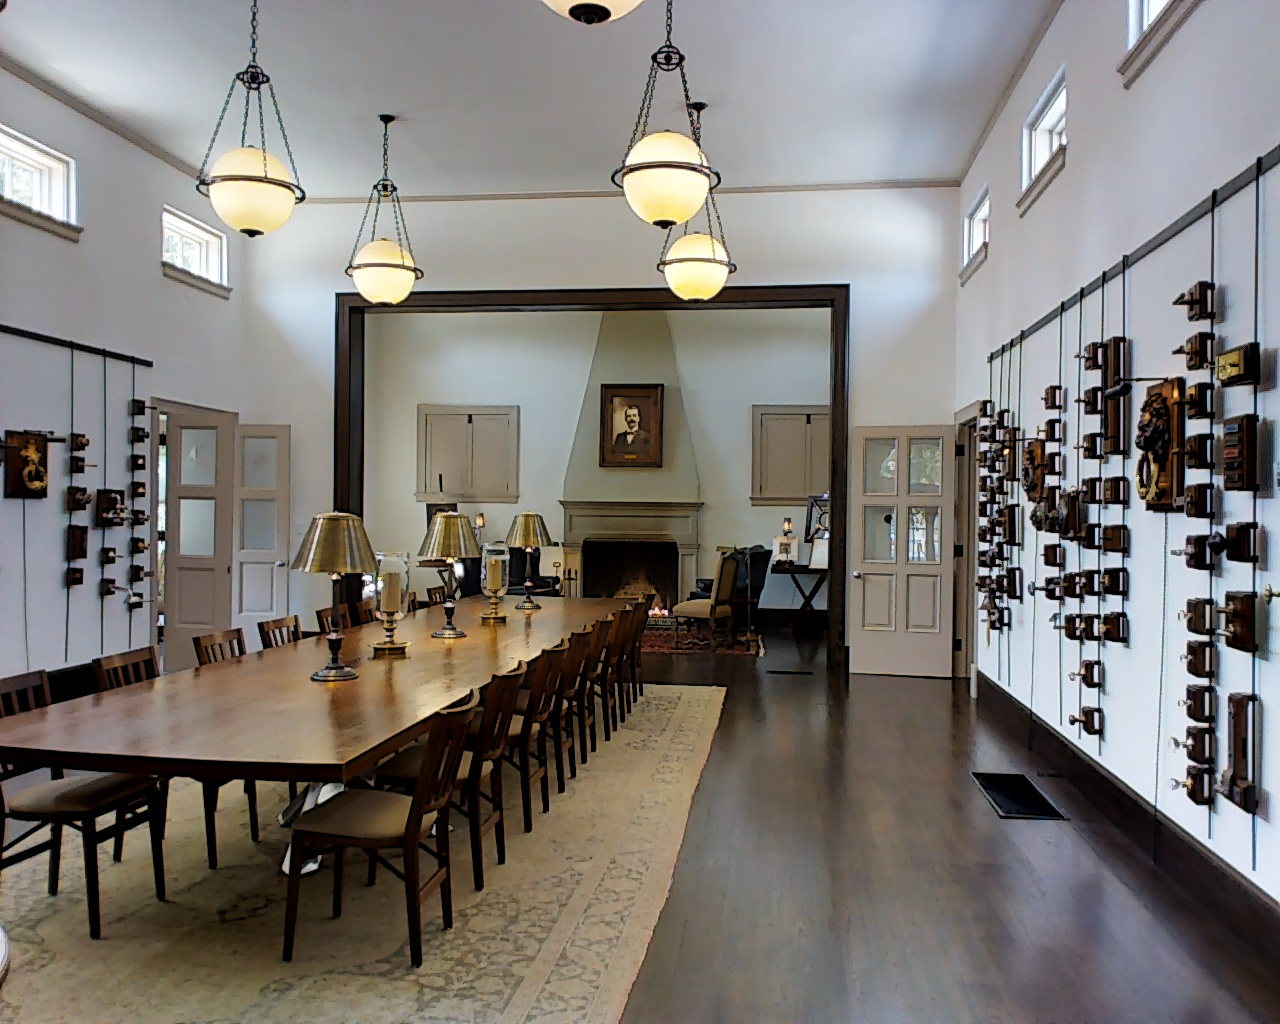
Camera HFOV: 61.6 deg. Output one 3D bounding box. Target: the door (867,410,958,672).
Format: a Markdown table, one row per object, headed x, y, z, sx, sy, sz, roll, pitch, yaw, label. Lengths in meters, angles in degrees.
| x | y | z | sx | sy | sz | roll | pitch | yaw | label |
| --- | --- | --- | --- | --- | --- | --- | --- | --- | --- |
| 2.490 | 0.260 | 9.830 | 0.780 | 2.360 | 0.080 | 1 | 0 | 17 | door |
